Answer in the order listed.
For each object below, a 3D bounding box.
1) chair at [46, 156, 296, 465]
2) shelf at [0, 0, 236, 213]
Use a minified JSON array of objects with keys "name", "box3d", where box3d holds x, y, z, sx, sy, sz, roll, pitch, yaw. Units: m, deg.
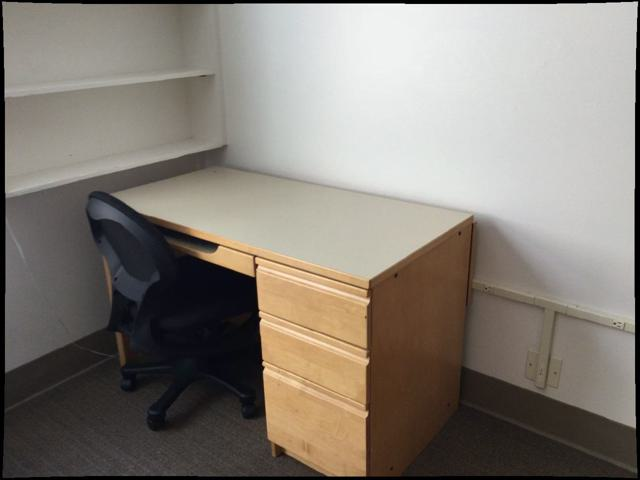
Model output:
[{"name":"chair","box3d":[-0.499,0.200,2.090,0.600,0.831,0.530,15,27,34]},{"name":"shelf","box3d":[-0.809,-0.931,1.960,0.250,1.441,1.080,15,27,34]}]
